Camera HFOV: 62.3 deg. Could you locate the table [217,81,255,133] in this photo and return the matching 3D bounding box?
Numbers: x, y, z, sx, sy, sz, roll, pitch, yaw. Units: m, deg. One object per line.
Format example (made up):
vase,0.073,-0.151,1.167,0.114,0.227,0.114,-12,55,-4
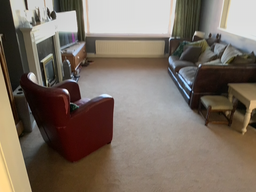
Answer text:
table,1.630,0.130,2.850,0.560,0.500,0.550,0,25,-2
